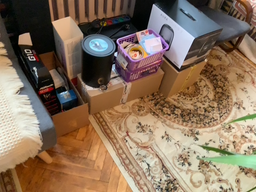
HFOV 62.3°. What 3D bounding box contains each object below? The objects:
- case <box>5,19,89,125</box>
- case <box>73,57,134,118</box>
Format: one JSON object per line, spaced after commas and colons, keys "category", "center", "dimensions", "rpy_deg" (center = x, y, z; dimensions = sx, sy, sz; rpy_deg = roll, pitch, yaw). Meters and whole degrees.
{"category": "case", "center": [-0.470, -0.150, 1.260], "dimensions": [0.270, 0.350, 0.470], "rpy_deg": [-23, 60, -27]}
{"category": "case", "center": [-0.170, -0.060, 1.400], "dimensions": [0.290, 0.200, 0.250], "rpy_deg": [-25, 61, -28]}
